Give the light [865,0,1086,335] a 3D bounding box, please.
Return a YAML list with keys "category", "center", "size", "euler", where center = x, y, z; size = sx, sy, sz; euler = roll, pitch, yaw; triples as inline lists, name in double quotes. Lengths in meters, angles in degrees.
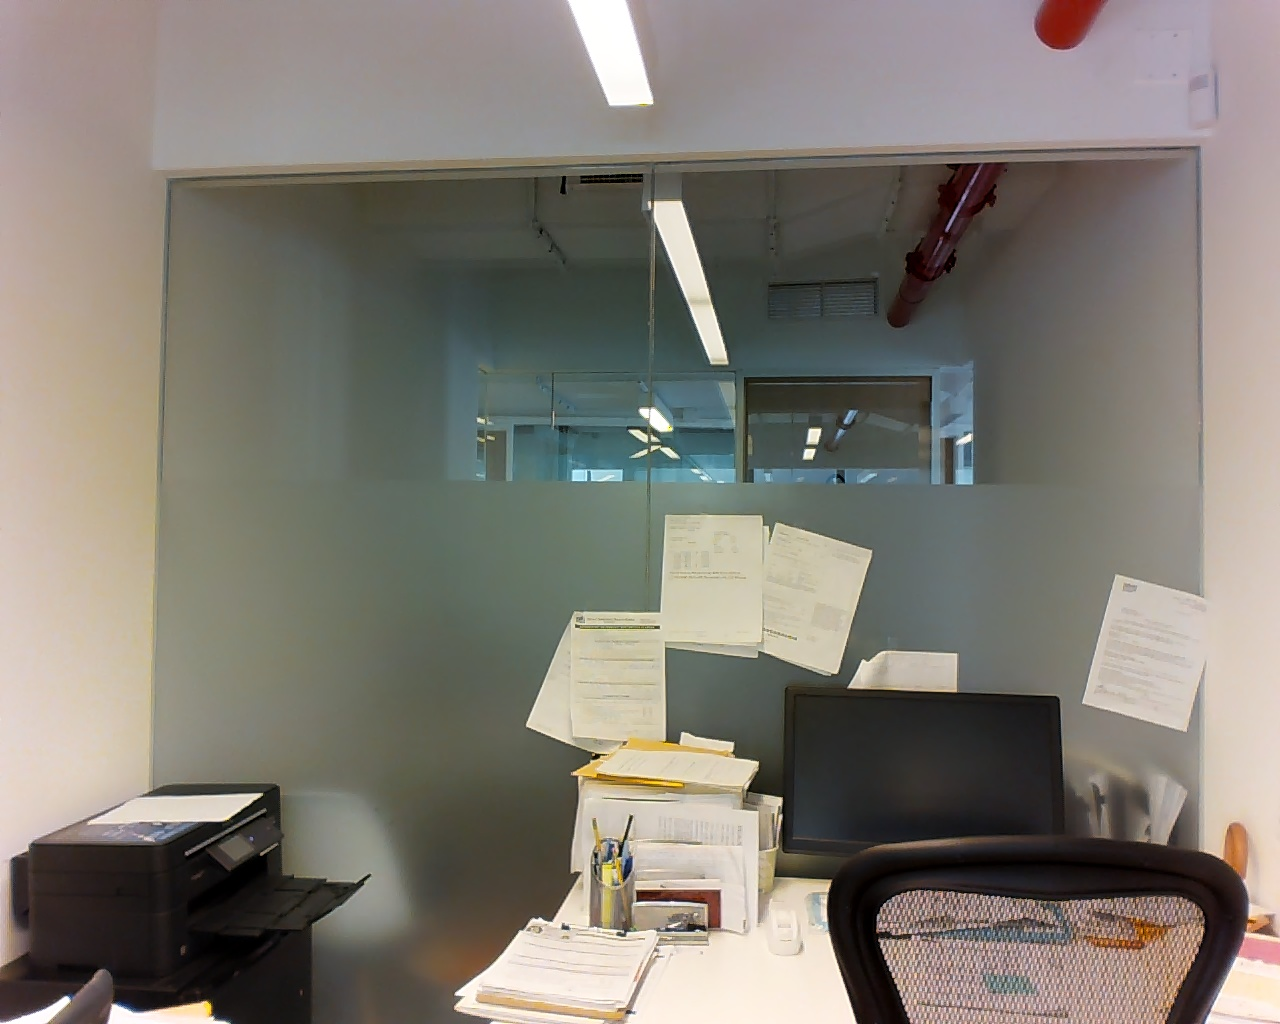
- category: "light"
  center: [1.010, -0.980, 3.640]
  size: [0.270, 0.270, 2.480]
  euler: [0, -2, 7]
